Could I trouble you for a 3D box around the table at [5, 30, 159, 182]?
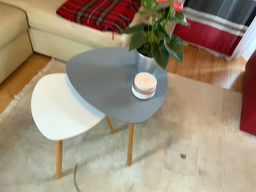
[{"bbox_3d":[-0.220,0.030,1.260,0.430,0.460,0.670,33,52,17],"label":"table"}]
